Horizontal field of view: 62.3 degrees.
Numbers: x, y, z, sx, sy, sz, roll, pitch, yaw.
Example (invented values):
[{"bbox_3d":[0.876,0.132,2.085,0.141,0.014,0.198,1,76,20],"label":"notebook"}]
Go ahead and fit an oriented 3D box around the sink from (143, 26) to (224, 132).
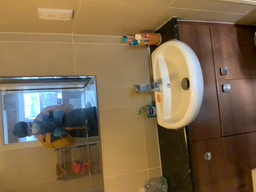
[{"bbox_3d":[0.280,-0.070,1.200,0.430,0.180,0.490,167,98,-69],"label":"sink"}]
